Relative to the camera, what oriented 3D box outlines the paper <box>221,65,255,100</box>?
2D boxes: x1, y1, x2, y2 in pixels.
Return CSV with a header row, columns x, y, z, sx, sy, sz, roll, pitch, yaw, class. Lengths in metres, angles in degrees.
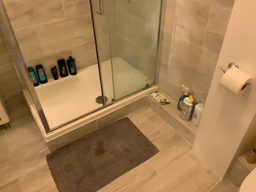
x,y,z,sx,sy,sz,roll,pitch,yaw,class
0.560,-0.070,1.070,0.120,0.120,0.080,-23,44,-24,paper
